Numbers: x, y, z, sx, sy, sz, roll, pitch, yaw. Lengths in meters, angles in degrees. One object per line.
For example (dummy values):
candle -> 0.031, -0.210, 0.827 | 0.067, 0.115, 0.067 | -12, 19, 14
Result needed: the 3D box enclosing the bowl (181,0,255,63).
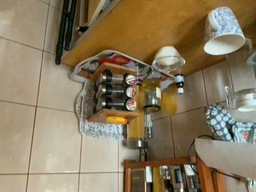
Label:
bowl -> 0.280, -0.190, 0.640 | 0.190, 0.080, 0.140 | 15, 155, -38
